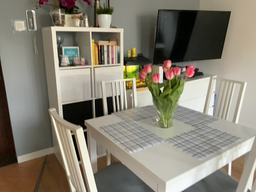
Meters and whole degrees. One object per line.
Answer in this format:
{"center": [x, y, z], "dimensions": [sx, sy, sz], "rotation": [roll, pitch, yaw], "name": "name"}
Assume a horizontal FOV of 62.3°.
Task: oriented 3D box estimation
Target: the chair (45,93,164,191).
{"center": [-0.130, 0.540, 1.310], "dimensions": [0.520, 0.980, 0.410], "rotation": [-12, 19, -35], "name": "chair"}

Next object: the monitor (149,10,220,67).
{"center": [0.800, -0.780, 2.850], "dimensions": [1.090, 0.680, 0.050], "rotation": [-8, 8, -23], "name": "monitor"}
